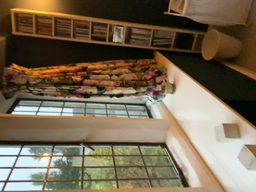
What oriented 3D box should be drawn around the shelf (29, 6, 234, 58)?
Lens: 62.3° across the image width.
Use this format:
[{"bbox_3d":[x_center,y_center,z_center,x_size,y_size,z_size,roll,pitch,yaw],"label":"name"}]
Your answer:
[{"bbox_3d":[0.090,-0.620,2.120,0.190,1.970,0.230,-106,23,-61],"label":"shelf"}]
